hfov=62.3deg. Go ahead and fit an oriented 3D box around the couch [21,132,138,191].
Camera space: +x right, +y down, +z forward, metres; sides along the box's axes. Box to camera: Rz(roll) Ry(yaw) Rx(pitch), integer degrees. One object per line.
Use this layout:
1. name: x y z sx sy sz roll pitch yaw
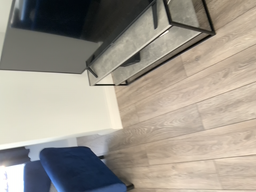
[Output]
1. couch: -0.530 0.950 2.180 0.780 0.880 0.800 21 109 50
